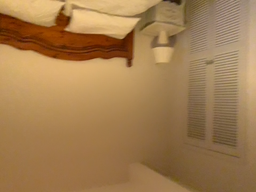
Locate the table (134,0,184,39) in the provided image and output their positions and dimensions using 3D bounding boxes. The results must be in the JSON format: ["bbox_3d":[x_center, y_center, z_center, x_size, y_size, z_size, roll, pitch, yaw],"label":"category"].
[{"bbox_3d":[0.380,-1.120,2.600,0.450,0.670,0.400,1,179,-28],"label":"table"}]
